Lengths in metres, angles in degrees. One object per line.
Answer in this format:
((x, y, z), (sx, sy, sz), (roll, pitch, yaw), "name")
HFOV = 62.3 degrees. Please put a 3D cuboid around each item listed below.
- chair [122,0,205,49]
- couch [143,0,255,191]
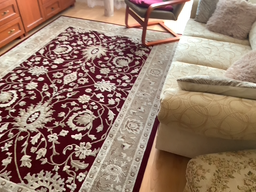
((0.420, -1.260, 2.690), (0.810, 0.980, 0.690), (-12, 43, -16), "chair")
((0.900, -0.340, 1.710), (1.000, 0.920, 1.930), (14, 43, 13), "couch")
